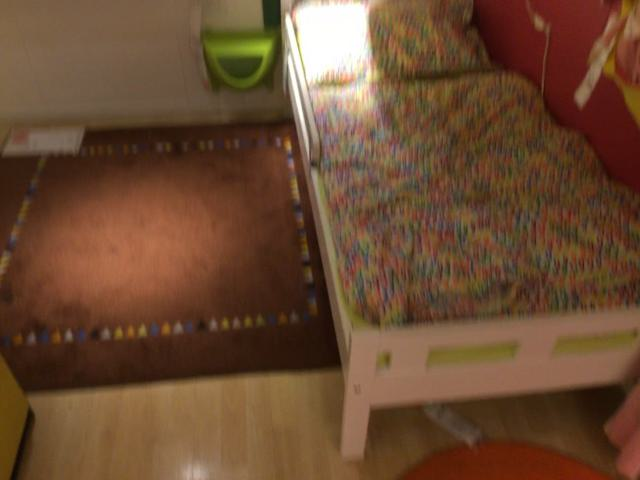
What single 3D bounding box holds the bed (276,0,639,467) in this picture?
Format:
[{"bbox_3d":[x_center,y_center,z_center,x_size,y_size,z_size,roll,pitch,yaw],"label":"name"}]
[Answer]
[{"bbox_3d":[0.320,-0.320,1.740,0.880,0.810,1.640,-1,41,-4],"label":"bed"}]
